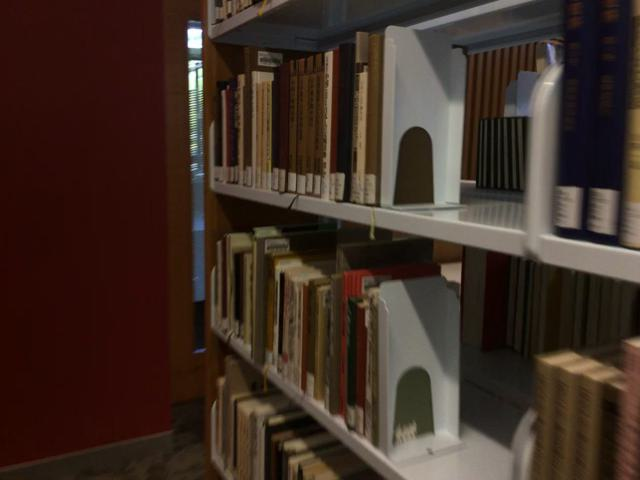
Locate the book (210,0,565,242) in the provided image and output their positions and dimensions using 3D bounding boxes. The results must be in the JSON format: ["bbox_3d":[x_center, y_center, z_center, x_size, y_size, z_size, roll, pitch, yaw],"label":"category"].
[{"bbox_3d":[0.050,-0.260,1.040,0.310,0.440,0.660,-2,8,-27],"label":"book"}]

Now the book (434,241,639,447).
[{"bbox_3d":[0.400,0.150,1.040,0.100,0.240,0.470,-2,8,-27],"label":"book"}]

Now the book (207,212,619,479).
[{"bbox_3d":[0.060,0.140,1.030,0.300,0.320,0.790,-2,8,-27],"label":"book"}]
